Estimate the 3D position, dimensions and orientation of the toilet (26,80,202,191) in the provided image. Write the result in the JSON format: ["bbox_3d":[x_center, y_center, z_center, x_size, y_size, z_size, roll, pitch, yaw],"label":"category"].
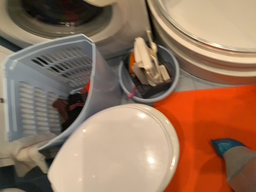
[{"bbox_3d":[-0.030,0.270,0.920,0.490,0.440,0.360,-35,74,3],"label":"toilet"}]
